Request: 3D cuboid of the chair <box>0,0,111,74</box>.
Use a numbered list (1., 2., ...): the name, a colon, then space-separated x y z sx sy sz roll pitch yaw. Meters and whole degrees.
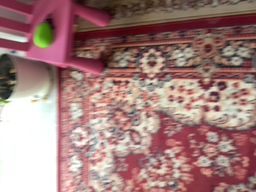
1. chair: -0.440 -0.330 1.070 0.430 0.610 0.400 4 94 28
